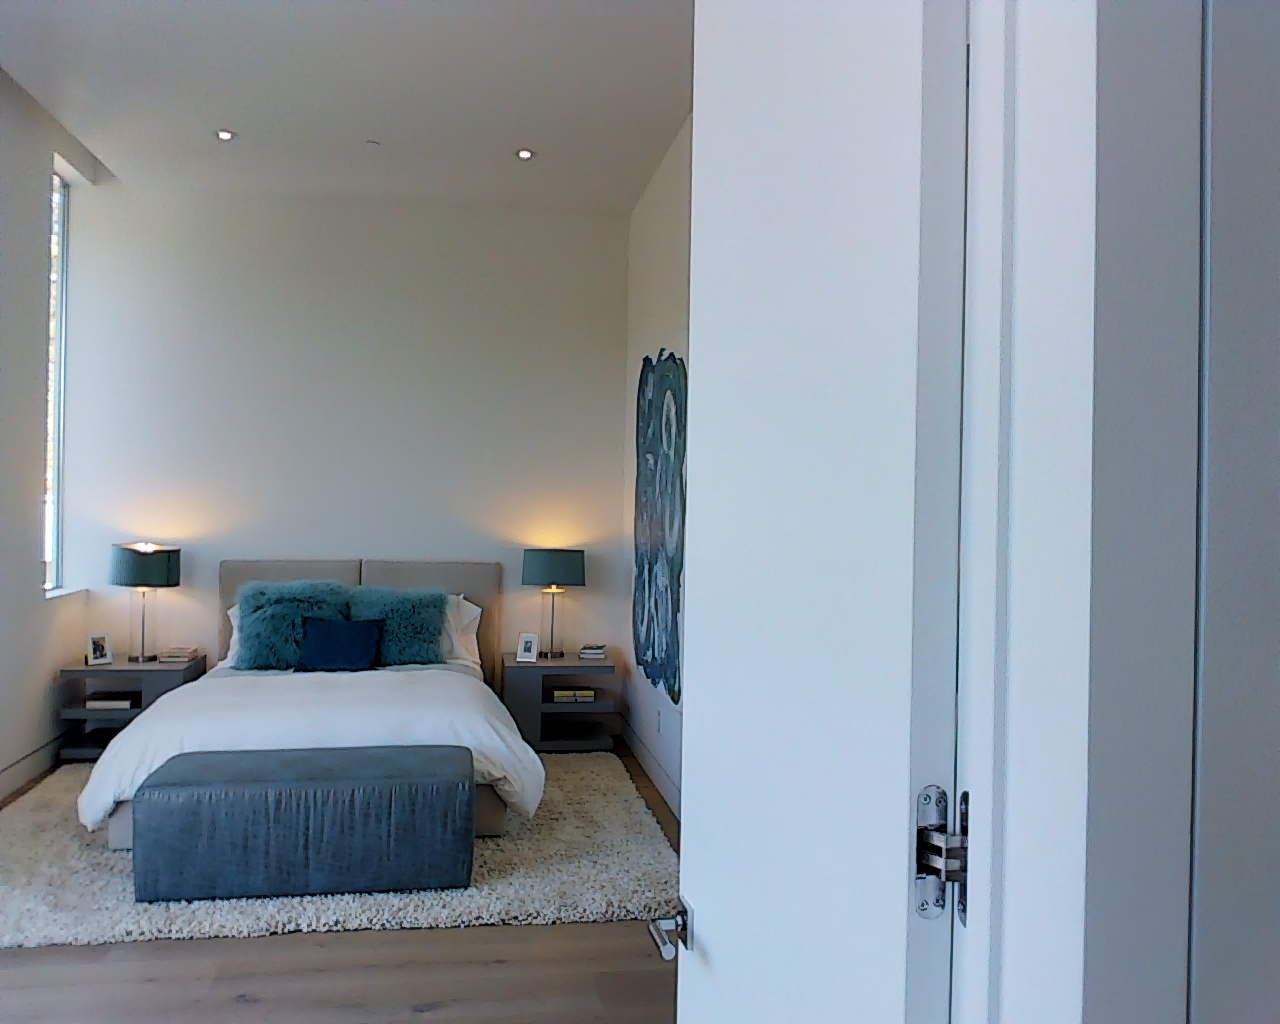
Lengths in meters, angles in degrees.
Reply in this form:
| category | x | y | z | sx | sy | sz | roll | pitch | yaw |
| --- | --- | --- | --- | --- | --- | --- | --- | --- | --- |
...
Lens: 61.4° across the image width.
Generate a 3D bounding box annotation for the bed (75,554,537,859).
| category | x | y | z | sx | sy | sz | roll | pitch | yaw |
| --- | --- | --- | --- | --- | --- | --- | --- | --- | --- |
| bed | -1.590 | 0.880 | 5.810 | 1.910 | 1.180 | 2.310 | 1 | 0 | -9 |
